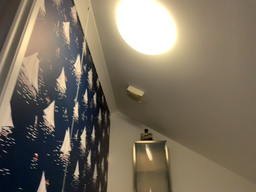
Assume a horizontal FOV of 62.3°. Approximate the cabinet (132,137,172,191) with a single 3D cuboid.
[{"bbox_3d":[0.220,0.740,2.010,0.350,0.700,0.040,-2,-30,3],"label":"cabinet"}]
